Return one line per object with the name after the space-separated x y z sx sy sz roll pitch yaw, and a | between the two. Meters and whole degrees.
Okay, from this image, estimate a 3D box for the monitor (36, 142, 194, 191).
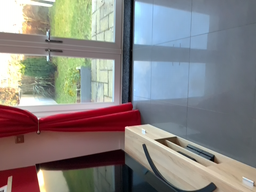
-0.070 0.680 1.420 1.650 0.890 0.110 15 105 62 | monitor
